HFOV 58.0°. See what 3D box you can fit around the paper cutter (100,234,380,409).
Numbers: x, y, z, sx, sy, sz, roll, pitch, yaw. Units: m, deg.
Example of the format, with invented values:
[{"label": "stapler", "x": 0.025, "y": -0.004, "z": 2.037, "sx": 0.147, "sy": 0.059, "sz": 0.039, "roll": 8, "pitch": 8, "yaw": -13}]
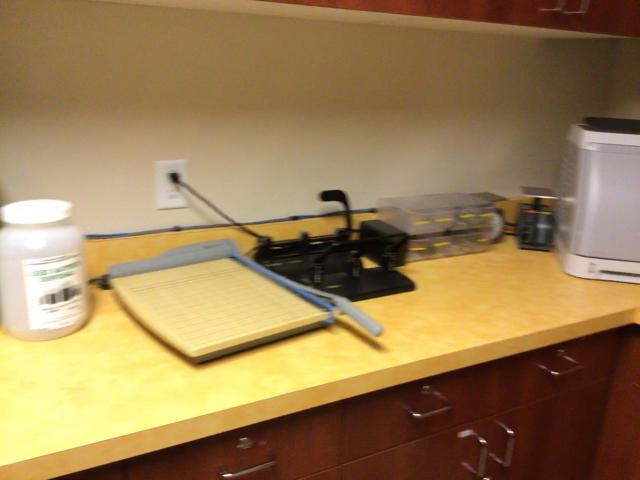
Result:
[{"label": "paper cutter", "x": -0.200, "y": 0.120, "z": 1.190, "sx": 0.400, "sy": 0.100, "sz": 0.560, "roll": -6, "pitch": 17, "yaw": -27}]
